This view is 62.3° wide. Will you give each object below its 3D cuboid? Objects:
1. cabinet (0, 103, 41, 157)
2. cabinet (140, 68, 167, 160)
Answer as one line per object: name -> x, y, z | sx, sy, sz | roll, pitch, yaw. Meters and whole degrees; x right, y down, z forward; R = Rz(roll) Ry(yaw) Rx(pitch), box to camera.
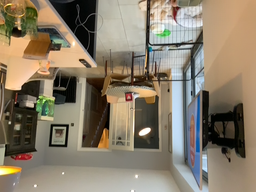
cabinet -> -2.260, 0.650, 4.150 | 0.530, 0.900, 1.080 | 0, 171, 6
cabinet -> 0.650, 0.430, 5.440 | 0.650, 2.230, 0.520 | 0, 171, 6
